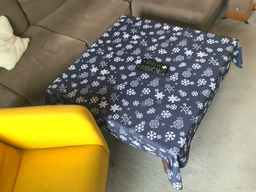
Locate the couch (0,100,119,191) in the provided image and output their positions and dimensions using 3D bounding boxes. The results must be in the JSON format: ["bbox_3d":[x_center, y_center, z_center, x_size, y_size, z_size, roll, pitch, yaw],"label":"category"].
[{"bbox_3d":[-0.520,0.530,1.070,0.750,0.720,0.720,-1,52,10],"label":"couch"}]

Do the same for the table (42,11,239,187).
[{"bbox_3d":[0.120,-0.070,1.560,0.930,0.500,0.930,24,60,26],"label":"table"}]
